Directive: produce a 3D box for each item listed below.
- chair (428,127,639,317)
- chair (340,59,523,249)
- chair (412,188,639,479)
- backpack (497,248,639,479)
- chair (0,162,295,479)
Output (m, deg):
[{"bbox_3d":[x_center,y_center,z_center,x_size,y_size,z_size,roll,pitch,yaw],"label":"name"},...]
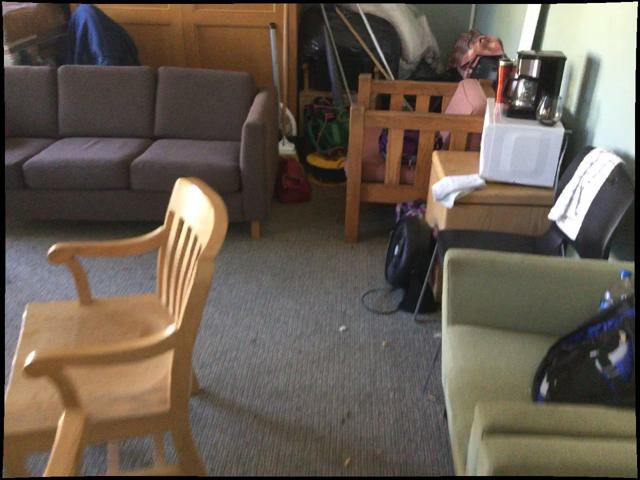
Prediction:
[{"bbox_3d":[0.759,-0.080,2.020,0.649,0.470,0.520,-1,29,1],"label":"chair"},{"bbox_3d":[0.559,-0.501,3.110,0.799,0.731,0.830,4,30,8],"label":"chair"},{"bbox_3d":[0.739,0.380,1.590,0.819,0.781,0.790,-1,29,1],"label":"chair"},{"bbox_3d":[0.759,0.300,1.400,0.470,0.320,0.560,-1,29,1],"label":"backpack"},{"bbox_3d":[-0.509,0.310,1.670,0.779,0.811,0.700,-5,30,-8],"label":"chair"}]
